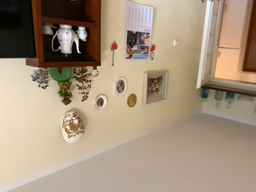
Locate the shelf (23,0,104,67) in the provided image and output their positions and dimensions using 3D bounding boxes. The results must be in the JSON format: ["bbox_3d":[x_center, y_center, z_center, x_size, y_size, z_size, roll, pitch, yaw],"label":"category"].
[{"bbox_3d":[-0.350,-0.550,1.200,0.150,0.740,0.420,16,-162,42],"label":"shelf"}]
